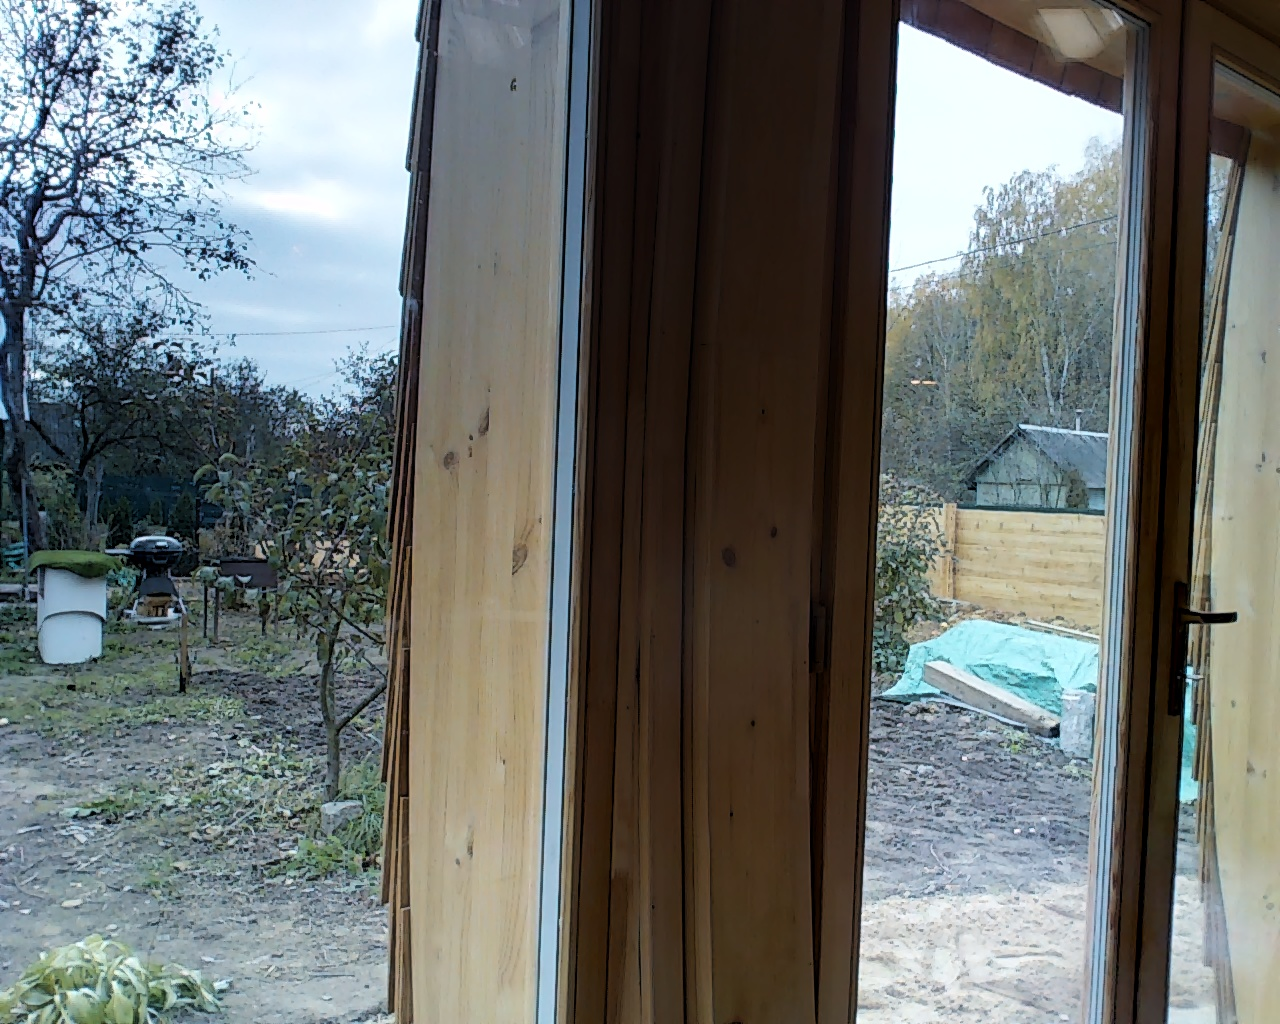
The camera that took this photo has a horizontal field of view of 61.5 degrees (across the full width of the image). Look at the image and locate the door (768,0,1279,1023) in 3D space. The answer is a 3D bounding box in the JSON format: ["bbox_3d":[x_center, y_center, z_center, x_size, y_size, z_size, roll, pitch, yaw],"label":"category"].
[{"bbox_3d":[0.840,0.210,1.680,1.550,2.061,0.180,1,1,-37],"label":"door"}]
